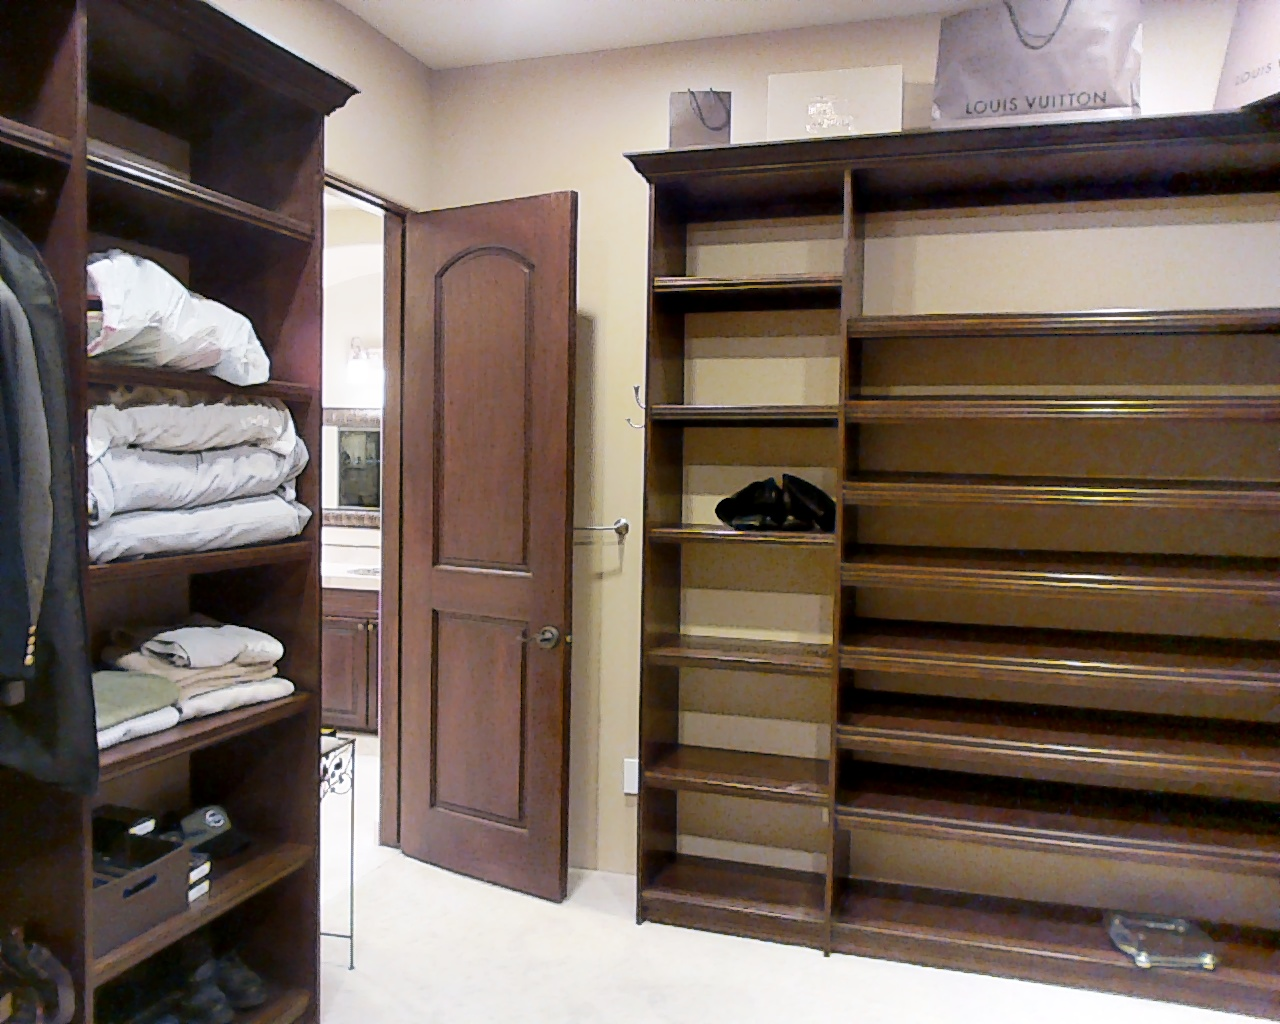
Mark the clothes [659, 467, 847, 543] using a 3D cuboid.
[{"bbox_3d":[0.390,-0.030,3.620,0.570,0.230,0.340,2,2,18],"label":"clothes"}]
